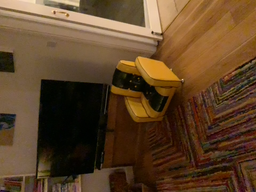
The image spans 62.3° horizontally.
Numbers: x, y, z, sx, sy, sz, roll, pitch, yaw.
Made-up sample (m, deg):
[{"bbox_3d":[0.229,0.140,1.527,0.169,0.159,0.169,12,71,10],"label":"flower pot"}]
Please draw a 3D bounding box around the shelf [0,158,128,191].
[{"bbox_3d":[-1.150,1.020,2.470,0.190,2.410,0.390,134,134,-55],"label":"shelf"}]

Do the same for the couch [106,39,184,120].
[{"bbox_3d":[0.130,-0.140,2.210,0.630,0.480,0.490,118,147,-41],"label":"couch"}]
